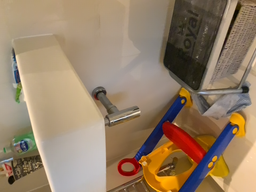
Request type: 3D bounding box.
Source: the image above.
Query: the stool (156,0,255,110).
[{"bbox_3d":[0.340,-0.240,0.850,0.330,0.250,0.430,51,146,43],"label":"stool"}]

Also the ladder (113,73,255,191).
[{"bbox_3d":[0.230,0.270,1.090,0.470,0.450,0.540,49,145,43],"label":"ladder"}]
